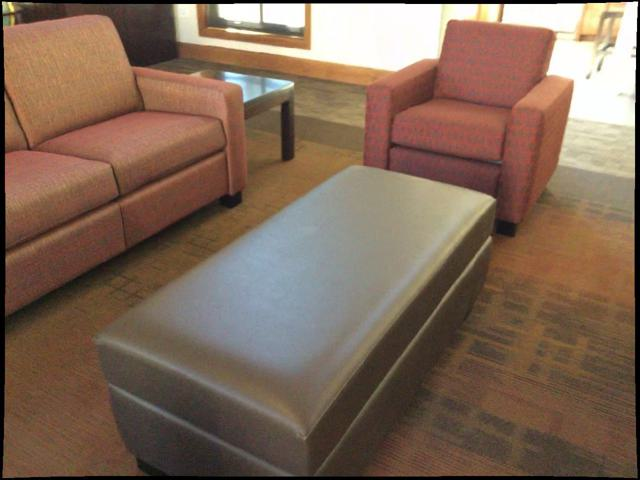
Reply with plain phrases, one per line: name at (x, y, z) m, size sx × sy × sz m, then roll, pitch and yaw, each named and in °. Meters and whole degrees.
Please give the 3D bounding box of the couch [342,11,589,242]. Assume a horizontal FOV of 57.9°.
couch at (0.709, -0.621, 2.830) m, size 0.889 × 0.831 × 0.830 m, roll 12°, pitch 32°, yaw 27°

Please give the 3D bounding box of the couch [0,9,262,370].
couch at (-1.269, -0.190, 2.050) m, size 0.859 × 0.891 × 2.340 m, roll 12°, pitch 32°, yaw 27°

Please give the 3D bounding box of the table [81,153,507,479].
table at (0.060, 0.210, 1.700) m, size 0.620 × 0.490 × 1.220 m, roll 12°, pitch 32°, yaw 27°
